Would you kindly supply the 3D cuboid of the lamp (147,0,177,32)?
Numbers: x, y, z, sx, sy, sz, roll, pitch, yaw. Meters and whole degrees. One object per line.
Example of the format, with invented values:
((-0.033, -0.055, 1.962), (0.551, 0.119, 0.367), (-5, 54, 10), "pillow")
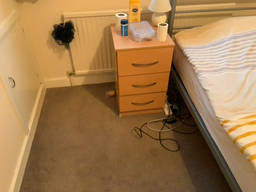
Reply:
((0.240, -0.620, 1.560), (0.160, 0.230, 0.170), (-5, 40, -6), "lamp")
